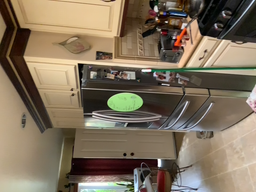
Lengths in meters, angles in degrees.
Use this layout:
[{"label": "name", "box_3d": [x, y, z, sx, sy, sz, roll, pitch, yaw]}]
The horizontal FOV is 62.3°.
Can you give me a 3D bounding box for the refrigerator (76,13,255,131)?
[{"label": "refrigerator", "box_3d": [0.380, -0.190, 2.440, 0.900, 1.790, 0.860, 108, 163, -59]}]
